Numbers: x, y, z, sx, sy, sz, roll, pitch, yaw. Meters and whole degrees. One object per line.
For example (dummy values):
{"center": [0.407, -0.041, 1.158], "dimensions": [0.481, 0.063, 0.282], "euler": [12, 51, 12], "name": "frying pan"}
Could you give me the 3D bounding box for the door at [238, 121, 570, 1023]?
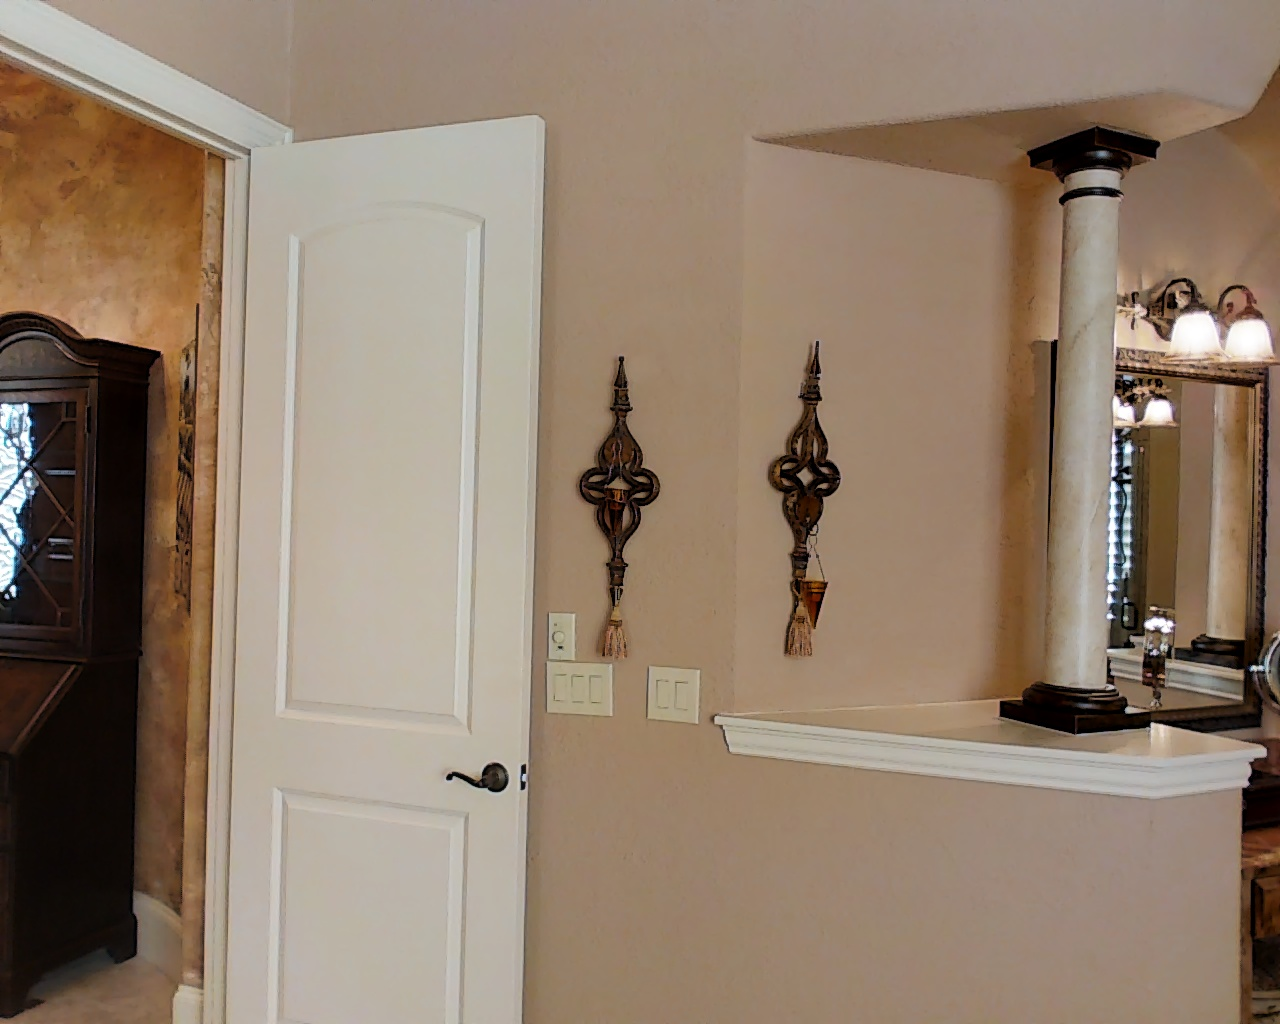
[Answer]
{"center": [-0.590, 0.310, 2.620], "dimensions": [0.810, 2.401, 0.120], "euler": [1, 0, 21], "name": "door"}
